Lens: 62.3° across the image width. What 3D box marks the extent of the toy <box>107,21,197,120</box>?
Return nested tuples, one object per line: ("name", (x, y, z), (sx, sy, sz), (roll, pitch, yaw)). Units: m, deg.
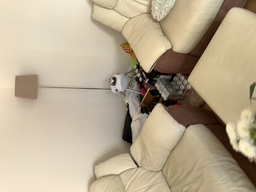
("toy", (0.200, -0.300, 2.480), (0.900, 0.470, 0.710), (62, 140, 42))
